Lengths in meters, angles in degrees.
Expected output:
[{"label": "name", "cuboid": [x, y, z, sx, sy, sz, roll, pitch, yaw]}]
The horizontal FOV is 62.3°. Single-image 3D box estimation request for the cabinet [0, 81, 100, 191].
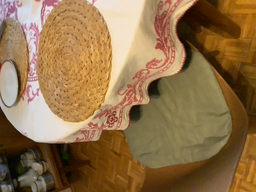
[{"label": "cabinet", "cuboid": [-0.800, 0.360, 1.730, 0.430, 0.770, 0.860, -40, 67, 34]}]
